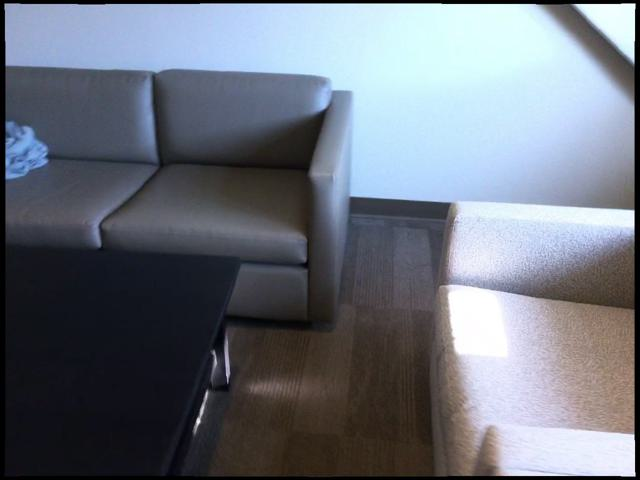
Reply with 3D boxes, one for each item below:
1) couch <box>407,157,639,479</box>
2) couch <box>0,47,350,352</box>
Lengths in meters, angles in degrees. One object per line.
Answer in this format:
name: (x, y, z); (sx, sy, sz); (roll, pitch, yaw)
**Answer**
couch: (0.719, 0.351, 1.290); (0.908, 0.701, 0.931); (3, 33, 2)
couch: (-0.719, -0.220, 2.210); (1.597, 0.721, 0.921); (4, 33, 3)
